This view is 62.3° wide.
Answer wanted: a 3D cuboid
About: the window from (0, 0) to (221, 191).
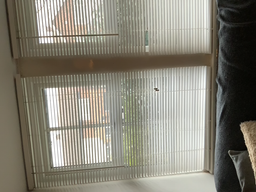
[{"bbox_3d":[-0.070,-0.220,1.650,0.080,1.600,1.960,-127,34,-80],"label":"window"}]
